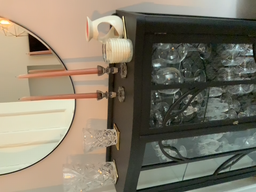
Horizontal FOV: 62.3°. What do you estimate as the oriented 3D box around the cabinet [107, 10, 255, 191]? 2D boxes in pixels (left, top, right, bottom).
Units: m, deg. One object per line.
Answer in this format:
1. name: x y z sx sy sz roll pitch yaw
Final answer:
1. cabinet: 0.520 0.060 1.160 0.370 1.190 0.900 -127 37 -60
